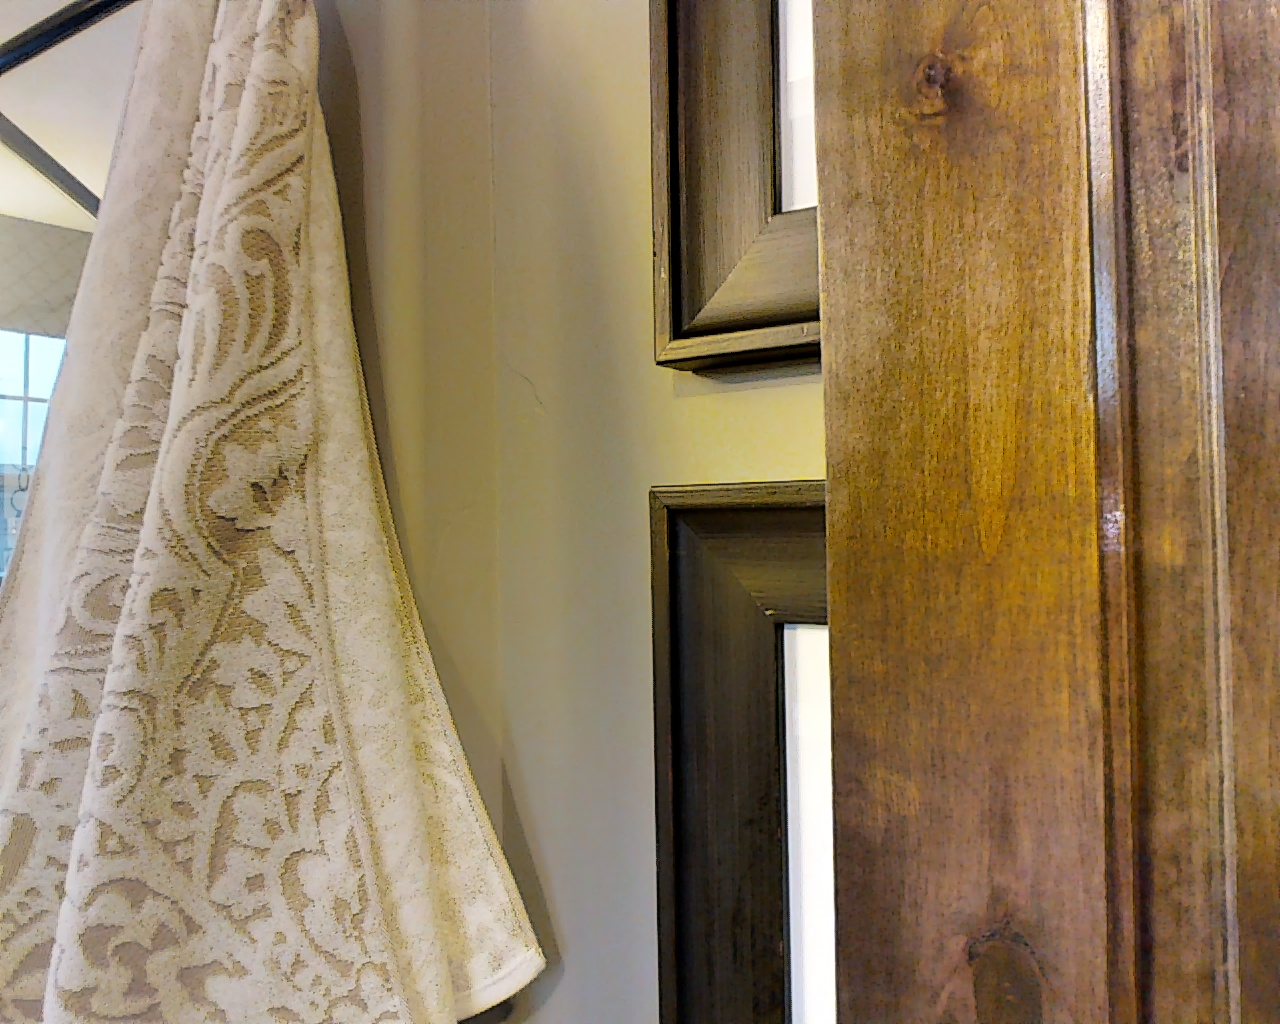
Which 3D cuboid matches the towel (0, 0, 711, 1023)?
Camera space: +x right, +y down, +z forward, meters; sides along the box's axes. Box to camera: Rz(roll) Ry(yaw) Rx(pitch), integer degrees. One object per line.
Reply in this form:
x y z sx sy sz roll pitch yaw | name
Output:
-0.260 0.120 0.600 0.420 0.980 0.370 -1 9 38 | towel
